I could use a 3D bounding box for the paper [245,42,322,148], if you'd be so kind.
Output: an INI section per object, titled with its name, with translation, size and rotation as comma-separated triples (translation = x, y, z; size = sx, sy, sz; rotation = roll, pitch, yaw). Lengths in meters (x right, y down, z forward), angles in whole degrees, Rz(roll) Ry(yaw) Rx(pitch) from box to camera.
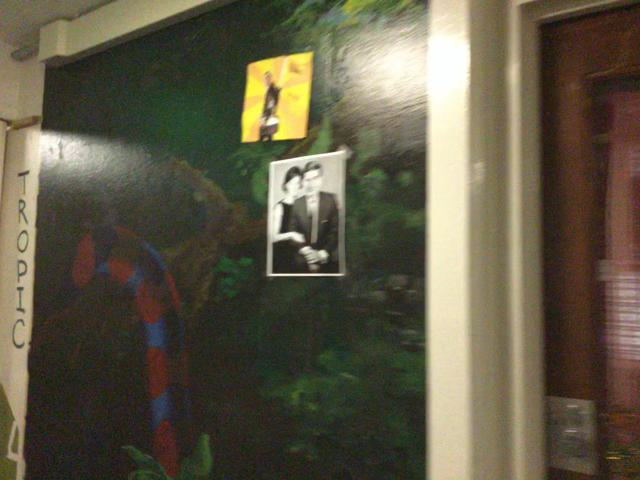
[paper]
translation = -0.090, -0.340, 1.380
size = 0.210, 0.220, 0.020
rotation = 0, -3, 37

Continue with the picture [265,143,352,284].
[picture]
translation = -0.030, -0.060, 1.300
size = 0.220, 0.300, 0.020
rotation = 3, 2, 37
